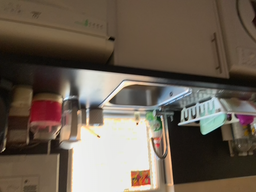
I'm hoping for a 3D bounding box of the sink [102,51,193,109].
[{"bbox_3d":[0.080,-0.060,1.250,0.360,0.170,0.450,4,163,-22],"label":"sink"}]
